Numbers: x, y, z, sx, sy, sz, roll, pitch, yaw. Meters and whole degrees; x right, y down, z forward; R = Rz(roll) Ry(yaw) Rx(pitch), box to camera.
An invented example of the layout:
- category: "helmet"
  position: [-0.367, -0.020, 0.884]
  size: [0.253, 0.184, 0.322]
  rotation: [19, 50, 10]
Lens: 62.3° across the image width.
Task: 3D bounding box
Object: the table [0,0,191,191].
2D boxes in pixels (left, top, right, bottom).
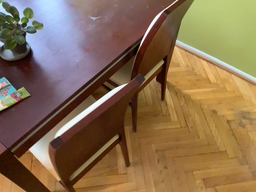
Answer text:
- category: "table"
  position: [-0.430, -0.230, 1.430]
  size: [0.980, 0.750, 1.350]
  rotation: [34, 59, 20]
